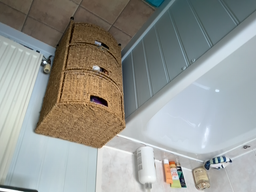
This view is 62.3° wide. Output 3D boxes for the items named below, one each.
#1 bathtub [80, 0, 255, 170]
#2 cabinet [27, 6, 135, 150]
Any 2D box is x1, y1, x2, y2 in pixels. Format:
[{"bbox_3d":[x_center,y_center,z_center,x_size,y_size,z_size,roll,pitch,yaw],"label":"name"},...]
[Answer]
[{"bbox_3d":[0.630,-0.320,0.910,0.860,0.540,1.800,23,133,-30],"label":"bathtub"},{"bbox_3d":[-0.220,-0.090,1.070,0.330,0.570,0.330,23,133,-30],"label":"cabinet"}]
